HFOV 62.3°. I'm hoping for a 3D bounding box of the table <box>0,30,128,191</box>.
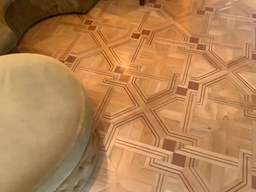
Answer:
[{"bbox_3d":[-0.580,0.220,1.070,0.800,0.460,0.830,36,63,25],"label":"table"}]
